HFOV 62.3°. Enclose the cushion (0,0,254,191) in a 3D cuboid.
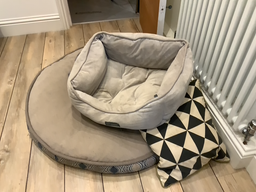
[{"bbox_3d":[-0.170,-0.140,1.270,1.050,0.430,1.200,-7,45,-7],"label":"cushion"}]
